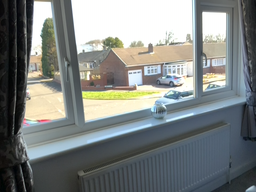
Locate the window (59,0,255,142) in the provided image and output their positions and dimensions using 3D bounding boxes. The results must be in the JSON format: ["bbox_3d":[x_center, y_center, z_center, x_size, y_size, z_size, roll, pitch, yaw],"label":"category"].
[{"bbox_3d":[0.430,-0.530,1.850,1.900,1.410,0.220,-10,13,-26],"label":"window"}]

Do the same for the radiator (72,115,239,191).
[{"bbox_3d":[0.320,0.570,1.620,1.390,0.590,0.120,-9,13,-25],"label":"radiator"}]
